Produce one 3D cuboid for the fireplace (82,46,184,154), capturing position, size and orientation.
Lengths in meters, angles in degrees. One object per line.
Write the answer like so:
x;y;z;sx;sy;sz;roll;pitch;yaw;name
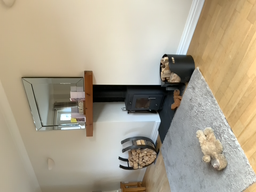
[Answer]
-0.050;0.100;3.180;0.840;1.190;1.370;-101;15;-45;fireplace
